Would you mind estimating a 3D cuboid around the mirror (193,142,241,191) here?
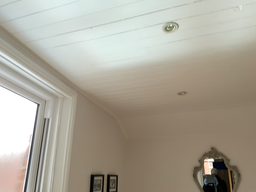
[{"bbox_3d":[1.060,1.010,2.520,0.450,0.880,0.130,-6,-22,14],"label":"mirror"}]
